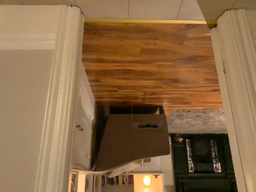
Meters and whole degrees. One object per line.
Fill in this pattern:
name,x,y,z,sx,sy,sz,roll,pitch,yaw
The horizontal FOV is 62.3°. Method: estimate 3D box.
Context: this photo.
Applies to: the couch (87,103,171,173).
couch,-0.020,0.830,3.600,1.030,0.860,1.830,0,159,-2
